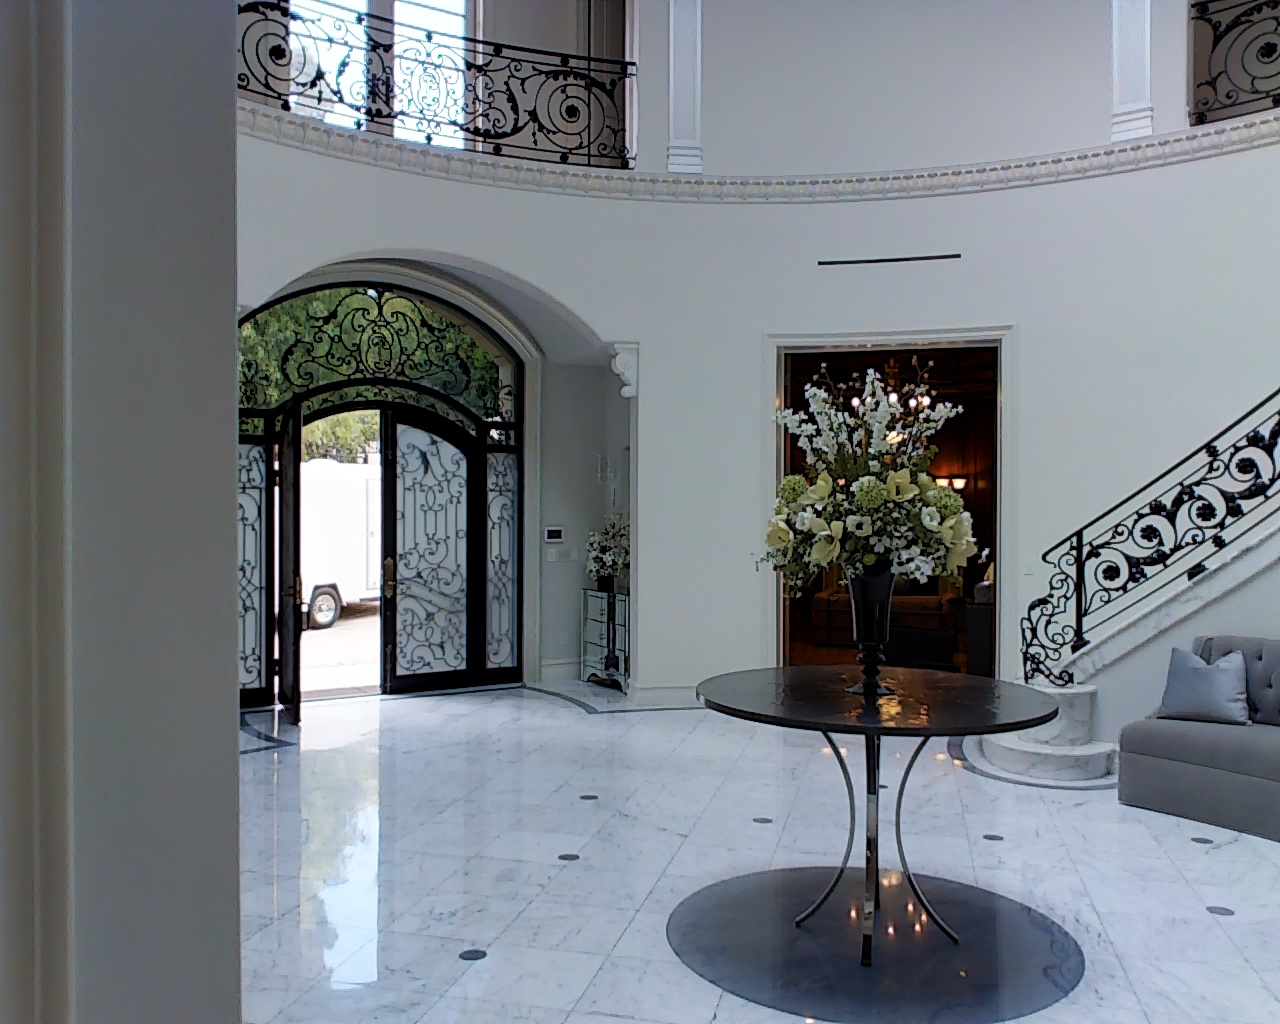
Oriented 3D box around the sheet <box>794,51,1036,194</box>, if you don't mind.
[{"bbox_3d":[2.339,-3.331,9.230,1.990,0.990,0.210,1,0,14],"label":"sheet"}]
